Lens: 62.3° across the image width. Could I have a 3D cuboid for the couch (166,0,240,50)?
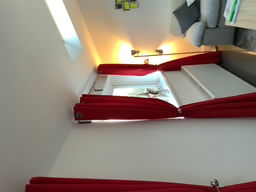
[{"bbox_3d":[1.170,-1.500,3.570,1.090,0.870,1.200,-89,-3,-68],"label":"couch"}]
